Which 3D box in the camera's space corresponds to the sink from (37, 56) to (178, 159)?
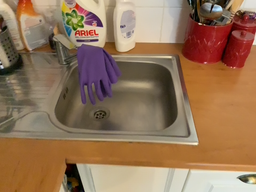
[{"bbox_3d":[-0.050,0.010,0.790,0.400,0.100,0.420,2,42,2],"label":"sink"}]
